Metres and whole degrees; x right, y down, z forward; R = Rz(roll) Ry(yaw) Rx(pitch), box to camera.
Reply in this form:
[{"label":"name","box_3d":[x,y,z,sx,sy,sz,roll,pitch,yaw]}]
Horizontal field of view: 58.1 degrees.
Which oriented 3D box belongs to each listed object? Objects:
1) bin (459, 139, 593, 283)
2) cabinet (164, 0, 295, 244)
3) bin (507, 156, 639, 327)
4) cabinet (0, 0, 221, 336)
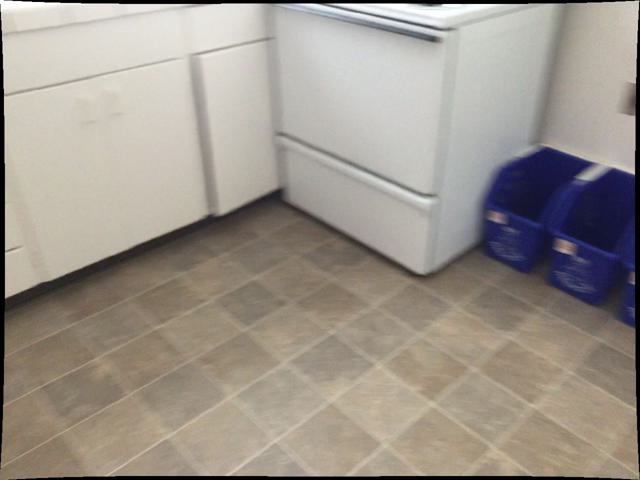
[{"label":"bin","box_3d":[0.779,-0.120,2.200,0.260,0.360,0.390,31,45,35]},{"label":"cabinet","box_3d":[-0.300,-0.471,2.180,0.090,0.921,0.470,31,45,35]},{"label":"bin","box_3d":[0.968,-0.010,2.060,0.370,0.370,0.380,31,45,35]},{"label":"cabinet","box_3d":[-0.889,-0.250,1.820,0.260,0.931,1.139,31,45,35]}]
